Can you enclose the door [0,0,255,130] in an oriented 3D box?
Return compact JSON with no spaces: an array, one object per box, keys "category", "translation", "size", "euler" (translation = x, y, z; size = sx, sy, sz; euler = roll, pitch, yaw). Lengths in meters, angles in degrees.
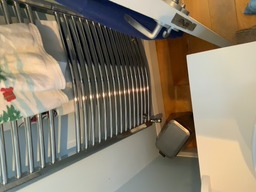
[{"category":"door","translation":[-0.100,-0.380,0.610],"size":[0.860,2.140,0.200],"euler":[45,118,20]}]
